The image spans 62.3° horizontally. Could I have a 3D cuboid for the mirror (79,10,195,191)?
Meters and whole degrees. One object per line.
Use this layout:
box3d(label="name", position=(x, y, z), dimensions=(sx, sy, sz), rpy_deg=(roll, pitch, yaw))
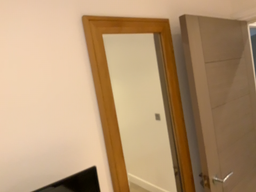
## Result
box3d(label="mirror", position=(0.130, 0.250, 1.230), dimensions=(0.600, 1.430, 0.030), rpy_deg=(-13, 6, -36))
